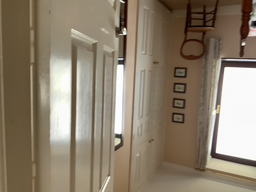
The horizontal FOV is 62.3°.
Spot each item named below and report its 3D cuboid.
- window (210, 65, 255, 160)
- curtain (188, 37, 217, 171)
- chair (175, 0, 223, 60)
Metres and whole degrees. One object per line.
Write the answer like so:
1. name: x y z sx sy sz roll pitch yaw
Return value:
1. window: 1.990 0.270 3.840 0.770 1.620 0.210 6 -172 22
2. curtain: 1.200 0.150 3.430 0.240 2.120 0.130 6 -172 24
3. chair: 1.010 -0.970 3.100 0.450 0.830 0.490 2 -172 -3
